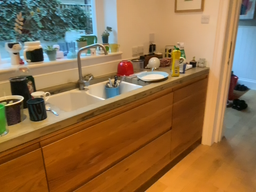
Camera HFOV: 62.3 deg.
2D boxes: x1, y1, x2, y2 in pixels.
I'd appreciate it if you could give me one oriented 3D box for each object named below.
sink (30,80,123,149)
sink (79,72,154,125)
[{"bbox_3d":[-0.370,0.090,1.530,0.510,0.250,0.420,17,26,40],"label":"sink"},{"bbox_3d":[-0.100,-0.010,1.790,0.510,0.250,0.360,17,26,40],"label":"sink"}]
